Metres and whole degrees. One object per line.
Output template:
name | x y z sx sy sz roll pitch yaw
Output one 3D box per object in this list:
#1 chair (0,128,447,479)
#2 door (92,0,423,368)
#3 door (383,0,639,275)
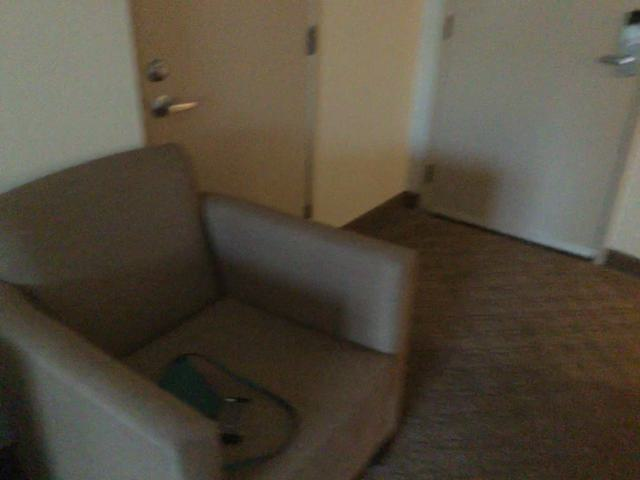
chair | -0.310 0.290 1.460 0.880 0.820 0.820 19 32 30
door | -0.060 -0.810 2.230 0.140 2.090 1.740 19 32 30
door | 0.890 -0.950 2.510 1.100 2.050 0.250 19 32 30
